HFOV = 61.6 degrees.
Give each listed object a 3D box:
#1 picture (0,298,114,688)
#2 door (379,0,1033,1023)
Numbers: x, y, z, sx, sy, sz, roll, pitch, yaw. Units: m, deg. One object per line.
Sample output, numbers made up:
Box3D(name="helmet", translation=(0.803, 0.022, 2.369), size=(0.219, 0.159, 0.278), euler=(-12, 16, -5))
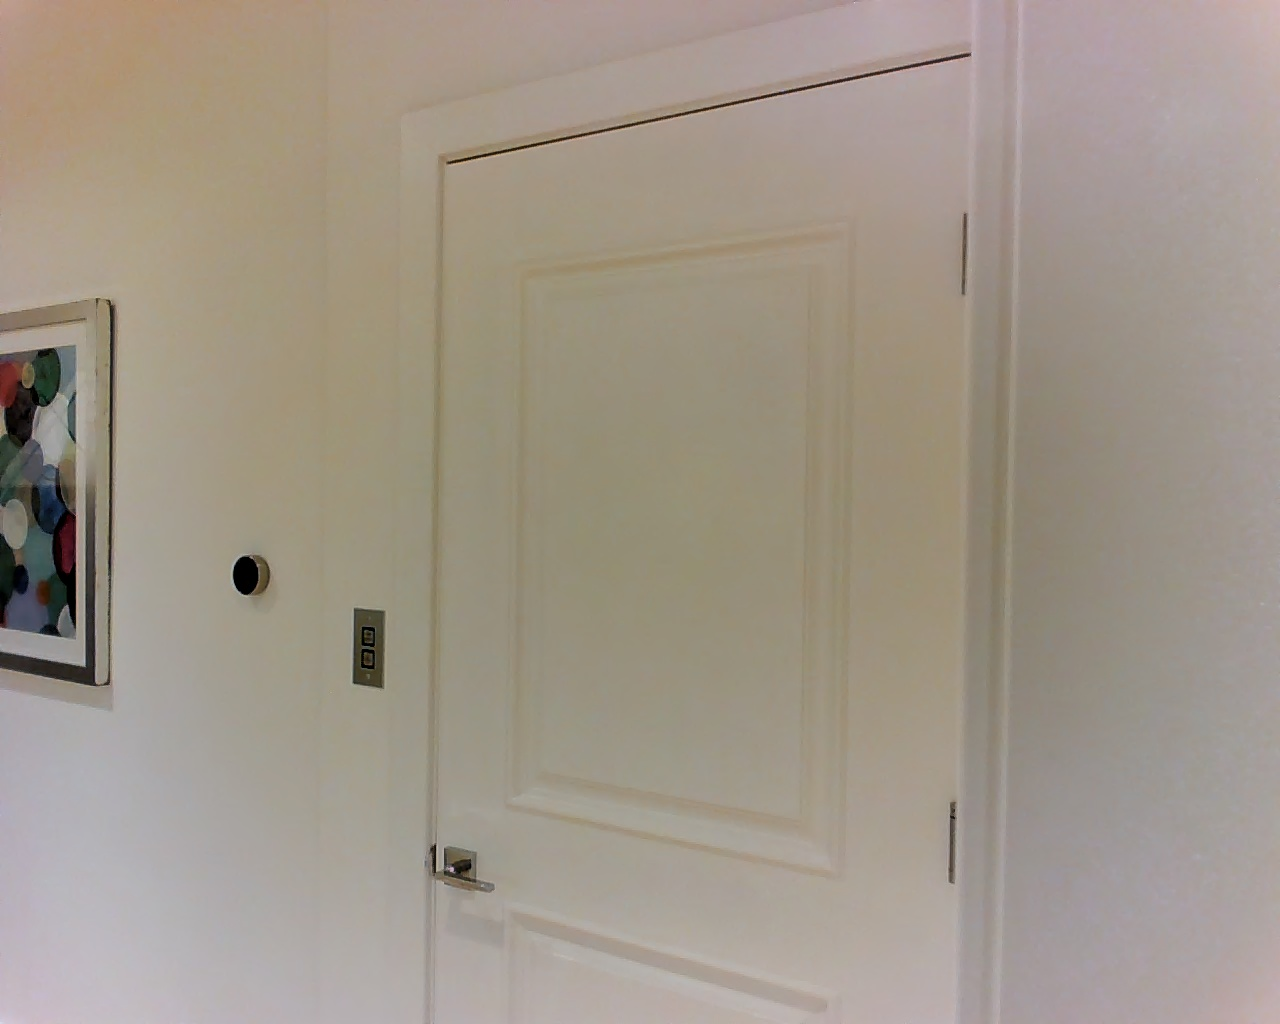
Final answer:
Box3D(name="picture", translation=(-1.600, -0.050, 2.690), size=(0.880, 0.880, 0.060), euler=(1, 1, 33))
Box3D(name="door", translation=(0.010, 0.410, 1.660), size=(1.100, 2.220, 0.060), euler=(1, 1, 33))
